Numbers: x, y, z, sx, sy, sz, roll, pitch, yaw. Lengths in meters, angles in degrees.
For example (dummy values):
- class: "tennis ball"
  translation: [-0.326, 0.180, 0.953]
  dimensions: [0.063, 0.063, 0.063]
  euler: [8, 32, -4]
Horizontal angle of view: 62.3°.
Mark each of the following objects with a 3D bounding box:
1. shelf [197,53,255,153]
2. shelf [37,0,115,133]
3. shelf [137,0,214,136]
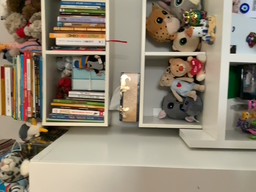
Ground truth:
- class: "shelf"
  translation: [0.600, 0.020, 0.880]
  dimensions: [0.280, 0.520, 0.350]
  euler: [-78, -11, -83]
- class: "shelf"
  translation: [-0.230, -0.350, 1.010]
  dimensions: [0.210, 0.310, 1.010]
  euler: [-78, -11, -83]
- class: "shelf"
  translation: [0.210, -0.350, 1.000]
  dimensions: [0.210, 0.300, 1.030]
  euler: [-78, -11, -83]
